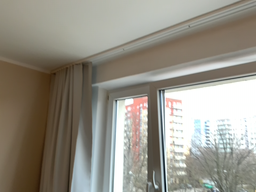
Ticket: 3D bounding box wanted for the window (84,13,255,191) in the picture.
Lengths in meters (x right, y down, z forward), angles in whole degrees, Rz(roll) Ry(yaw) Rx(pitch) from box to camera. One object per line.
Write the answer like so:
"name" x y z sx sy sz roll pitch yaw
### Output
"window" 0.300 0.490 1.450 1.640 1.800 0.160 -9 -16 39
